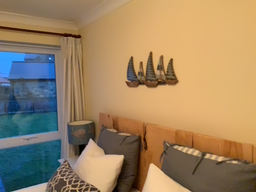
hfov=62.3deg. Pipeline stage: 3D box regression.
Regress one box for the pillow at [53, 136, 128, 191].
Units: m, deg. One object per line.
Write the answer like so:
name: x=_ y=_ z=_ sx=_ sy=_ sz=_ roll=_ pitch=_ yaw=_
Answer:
pillow: x=-0.320 y=0.530 z=1.750 sx=0.520 sy=0.380 sz=0.160 roll=-1 pitch=-68 yaw=51

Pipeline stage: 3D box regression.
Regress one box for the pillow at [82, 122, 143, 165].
pillow: x=-0.160 y=0.400 z=1.910 sx=0.560 sy=0.270 sz=0.130 roll=-1 pitch=-50 yaw=52
